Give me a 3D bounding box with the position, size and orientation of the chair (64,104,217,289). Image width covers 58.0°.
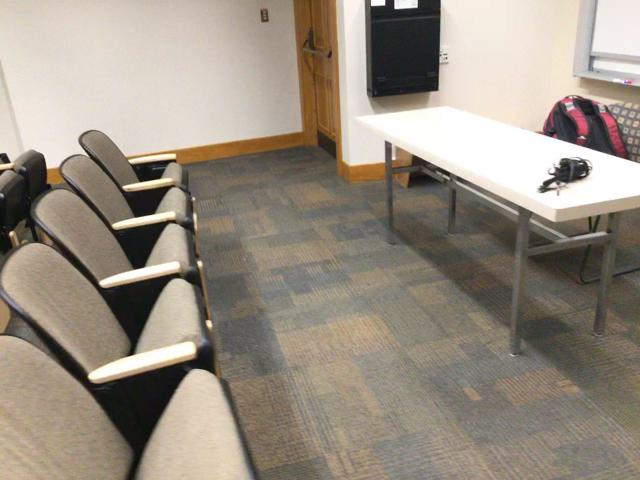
[{"bbox_3d":[-0.920,-0.260,3.130,0.570,0.760,0.610,-10,25,-8],"label":"chair"}]

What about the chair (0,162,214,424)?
[{"bbox_3d":[-0.750,0.170,2.200,0.570,0.750,0.540,-8,24,-9],"label":"chair"}]

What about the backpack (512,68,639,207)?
[{"bbox_3d":[1.280,-0.500,2.770,0.400,0.480,0.400,20,17,-11],"label":"backpack"}]

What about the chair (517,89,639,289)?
[{"bbox_3d":[1.330,-0.260,2.760,0.550,0.770,0.470,-10,24,-8],"label":"chair"}]

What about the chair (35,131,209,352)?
[{"bbox_3d":[-0.840,-0.020,2.640,0.540,0.780,0.580,-8,24,-9],"label":"chair"}]

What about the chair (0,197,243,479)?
[{"bbox_3d":[-0.590,0.370,1.720,0.590,0.770,0.590,-9,24,-11],"label":"chair"}]

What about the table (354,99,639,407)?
[{"bbox_3d":[0.710,-0.130,2.630,0.630,0.660,1.760,-9,24,-10],"label":"table"}]

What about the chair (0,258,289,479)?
[{"bbox_3d":[-0.430,0.560,1.250,0.660,0.780,0.560,-10,24,-13],"label":"chair"}]
